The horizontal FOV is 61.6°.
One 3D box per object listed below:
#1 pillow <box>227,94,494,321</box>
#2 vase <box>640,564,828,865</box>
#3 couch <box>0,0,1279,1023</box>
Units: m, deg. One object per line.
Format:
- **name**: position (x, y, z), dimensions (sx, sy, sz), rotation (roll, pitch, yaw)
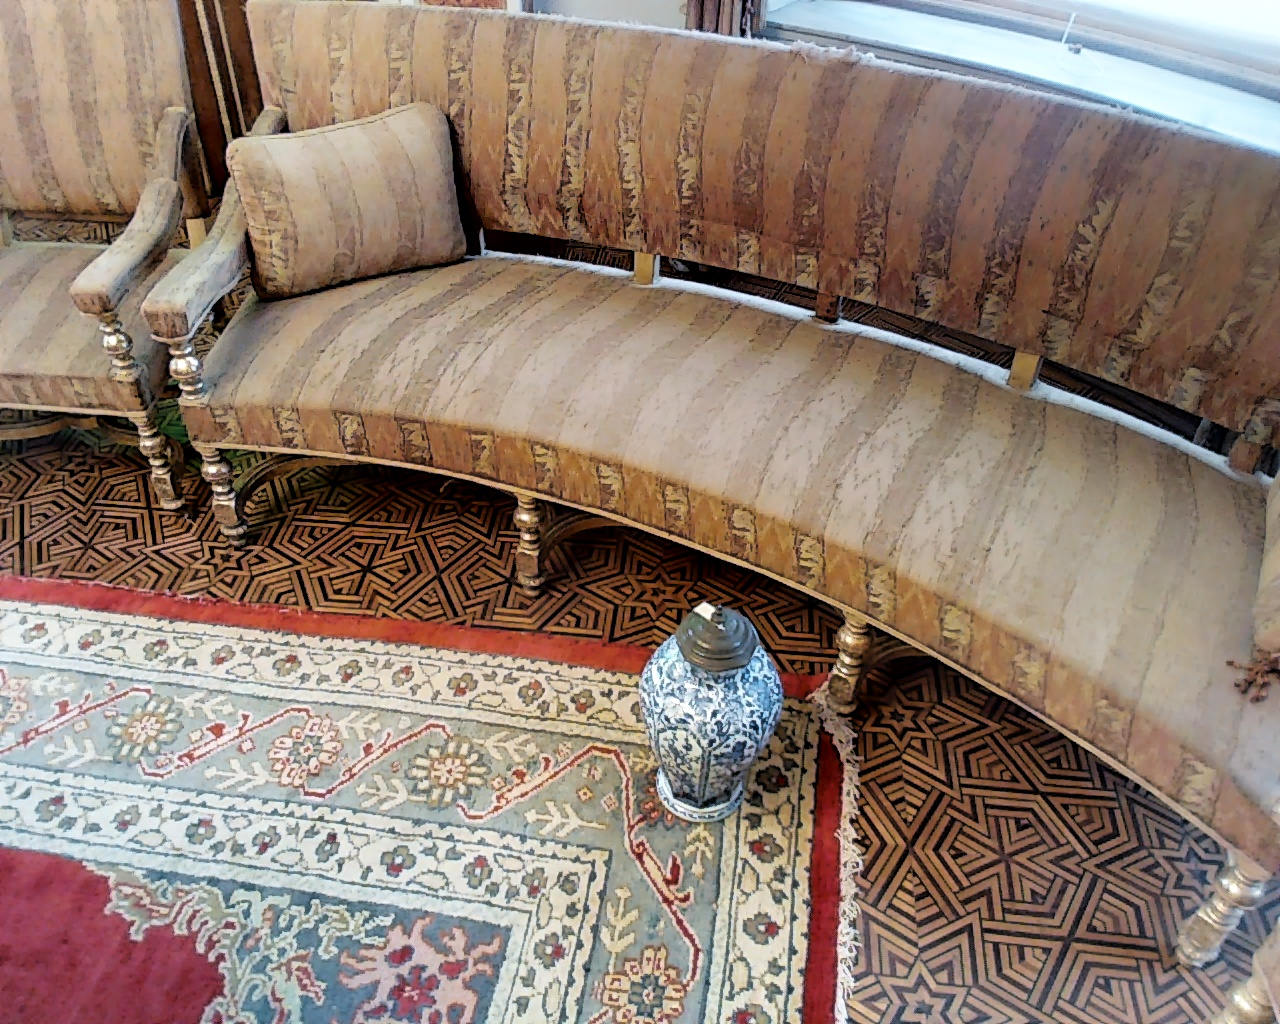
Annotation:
- **pillow**: position (-0.620, -0.700, 2.450), dimensions (0.500, 0.350, 0.220), rotation (-19, 45, -22)
- **vase**: position (0.150, 0.360, 1.880), dimensions (0.210, 0.460, 0.210), rotation (-27, 48, -28)
- **couch**: position (0.250, -0.260, 2.170), dimensions (2.909, 1.070, 1.080), rotation (21, 44, 21)
